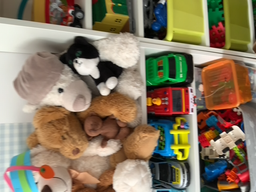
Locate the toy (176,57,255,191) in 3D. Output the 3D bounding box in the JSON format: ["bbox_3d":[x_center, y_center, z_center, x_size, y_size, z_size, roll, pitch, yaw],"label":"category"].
[{"bbox_3d":[0.450,0.230,1.050,0.270,0.310,0.770,-3,87,61],"label":"toy"}]

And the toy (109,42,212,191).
[{"bbox_3d":[0.120,0.220,0.880,0.280,0.310,0.780,-6,83,61],"label":"toy"}]
